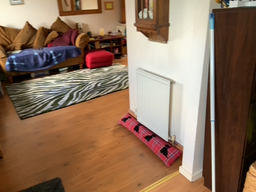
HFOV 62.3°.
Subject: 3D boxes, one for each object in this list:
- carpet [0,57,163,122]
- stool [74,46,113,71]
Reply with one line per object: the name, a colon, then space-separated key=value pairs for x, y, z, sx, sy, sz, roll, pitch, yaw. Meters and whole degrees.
carpet: x=-0.870 y=-0.310 z=3.900 sx=2.470 sy=0.100 sz=1.690 roll=-16 pitch=28 yaw=-29
stool: x=-0.780 y=-0.870 z=4.760 sx=0.640 sy=0.330 sz=0.650 roll=-16 pitch=28 yaw=-29
